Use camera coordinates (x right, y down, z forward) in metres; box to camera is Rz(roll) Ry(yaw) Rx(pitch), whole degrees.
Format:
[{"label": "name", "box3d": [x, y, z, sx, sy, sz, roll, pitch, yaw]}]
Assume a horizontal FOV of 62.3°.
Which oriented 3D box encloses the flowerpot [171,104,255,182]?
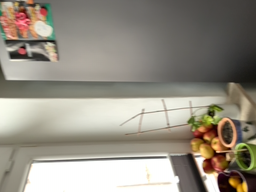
[{"label": "flowerpot", "box3d": [0.460, 0.260, 1.200, 0.300, 0.300, 0.310, -98, 12, -48]}]
